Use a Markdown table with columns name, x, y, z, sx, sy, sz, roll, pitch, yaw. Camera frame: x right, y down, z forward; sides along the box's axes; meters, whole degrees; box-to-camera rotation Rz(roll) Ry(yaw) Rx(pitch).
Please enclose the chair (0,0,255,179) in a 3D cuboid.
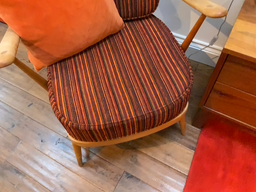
| name | x | y | z | sx | sy | sz | roll | pitch | yaw |
| --- | --- | --- | --- | --- | --- | --- | --- | --- | --- |
| chair | -0.070 | -0.260 | 0.840 | 0.630 | 0.940 | 0.760 | -17 | 58 | -8 |
